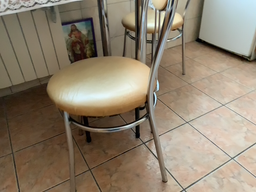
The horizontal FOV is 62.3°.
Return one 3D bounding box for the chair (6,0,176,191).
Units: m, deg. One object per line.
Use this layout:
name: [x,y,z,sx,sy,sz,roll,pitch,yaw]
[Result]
chair: [-0.090,-0.070,0.800,0.390,0.910,0.320,-5,36,-5]
